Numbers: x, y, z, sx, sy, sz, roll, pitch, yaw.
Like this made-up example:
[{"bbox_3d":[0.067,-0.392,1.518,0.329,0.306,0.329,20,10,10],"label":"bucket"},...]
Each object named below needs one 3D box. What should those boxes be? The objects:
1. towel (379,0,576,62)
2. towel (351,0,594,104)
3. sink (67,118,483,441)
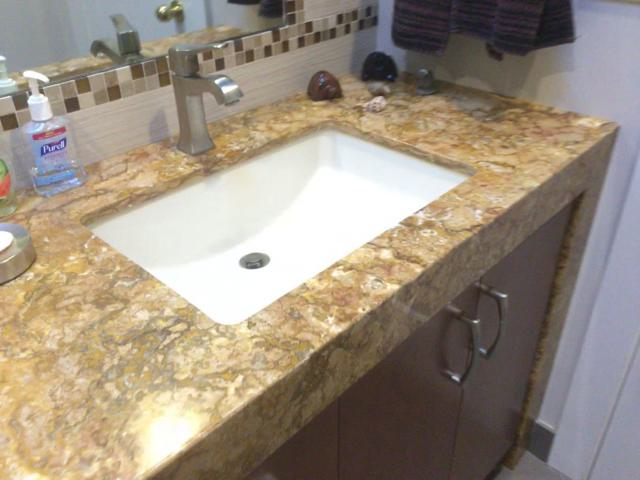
[{"bbox_3d":[0.270,-0.510,0.970,0.310,0.340,0.130,24,39,34],"label":"towel"},{"bbox_3d":[0.260,-0.500,1.000,0.400,0.420,0.150,24,39,34],"label":"towel"},{"bbox_3d":[-0.040,0.000,0.890,0.340,0.170,0.520,24,39,34],"label":"sink"}]
